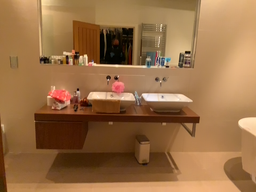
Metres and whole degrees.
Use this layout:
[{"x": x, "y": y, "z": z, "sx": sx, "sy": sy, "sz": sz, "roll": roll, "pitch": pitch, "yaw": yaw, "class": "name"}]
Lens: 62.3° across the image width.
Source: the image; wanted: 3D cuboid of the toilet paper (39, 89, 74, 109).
[{"x": -0.830, "y": 0.030, "z": 2.500, "sx": 0.290, "sy": 0.160, "sz": 0.330, "roll": 2, "pitch": 12, "yaw": 0, "class": "toilet paper"}]

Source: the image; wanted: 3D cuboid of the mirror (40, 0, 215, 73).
[{"x": 0.000, "y": -0.870, "z": 2.720, "sx": 2.140, "sy": 1.080, "sz": 0.100, "roll": 1, "pitch": 12, "yaw": -3, "class": "mirror"}]

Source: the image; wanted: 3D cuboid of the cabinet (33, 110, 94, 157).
[{"x": -0.700, "y": 0.410, "z": 2.460, "sx": 0.540, "sy": 0.340, "sz": 0.560, "roll": 2, "pitch": 12, "yaw": -1, "class": "cabinet"}]
